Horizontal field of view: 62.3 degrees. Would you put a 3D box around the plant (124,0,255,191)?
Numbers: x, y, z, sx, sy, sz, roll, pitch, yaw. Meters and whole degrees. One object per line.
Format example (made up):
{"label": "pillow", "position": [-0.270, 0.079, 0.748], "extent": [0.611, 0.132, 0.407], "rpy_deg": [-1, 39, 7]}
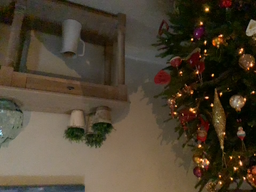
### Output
{"label": "plant", "position": [0.610, 0.050, 1.290], "extent": [0.920, 1.870, 0.940], "rpy_deg": [8, 158, -25]}

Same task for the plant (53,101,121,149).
{"label": "plant", "position": [-0.330, 0.250, 1.670], "extent": [0.440, 0.280, 0.360], "rpy_deg": [7, 159, -23]}
